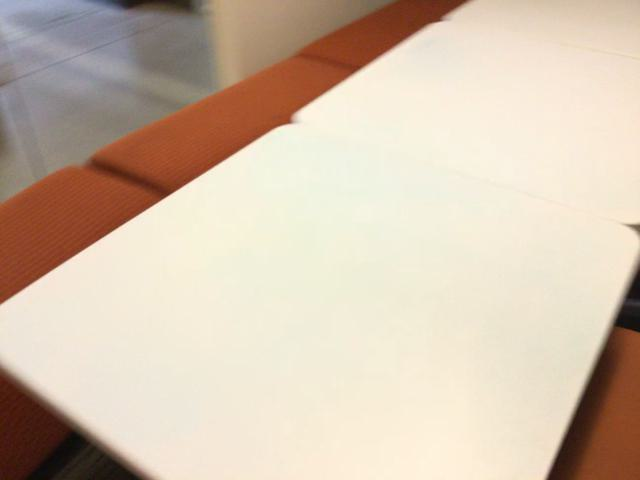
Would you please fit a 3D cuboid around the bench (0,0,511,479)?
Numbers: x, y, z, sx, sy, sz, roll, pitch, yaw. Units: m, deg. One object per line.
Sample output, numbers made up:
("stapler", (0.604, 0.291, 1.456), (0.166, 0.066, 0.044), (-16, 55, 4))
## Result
("bench", (-0.230, -0.240, 2.010), (0.600, 0.510, 2.870), (23, 45, 29))
